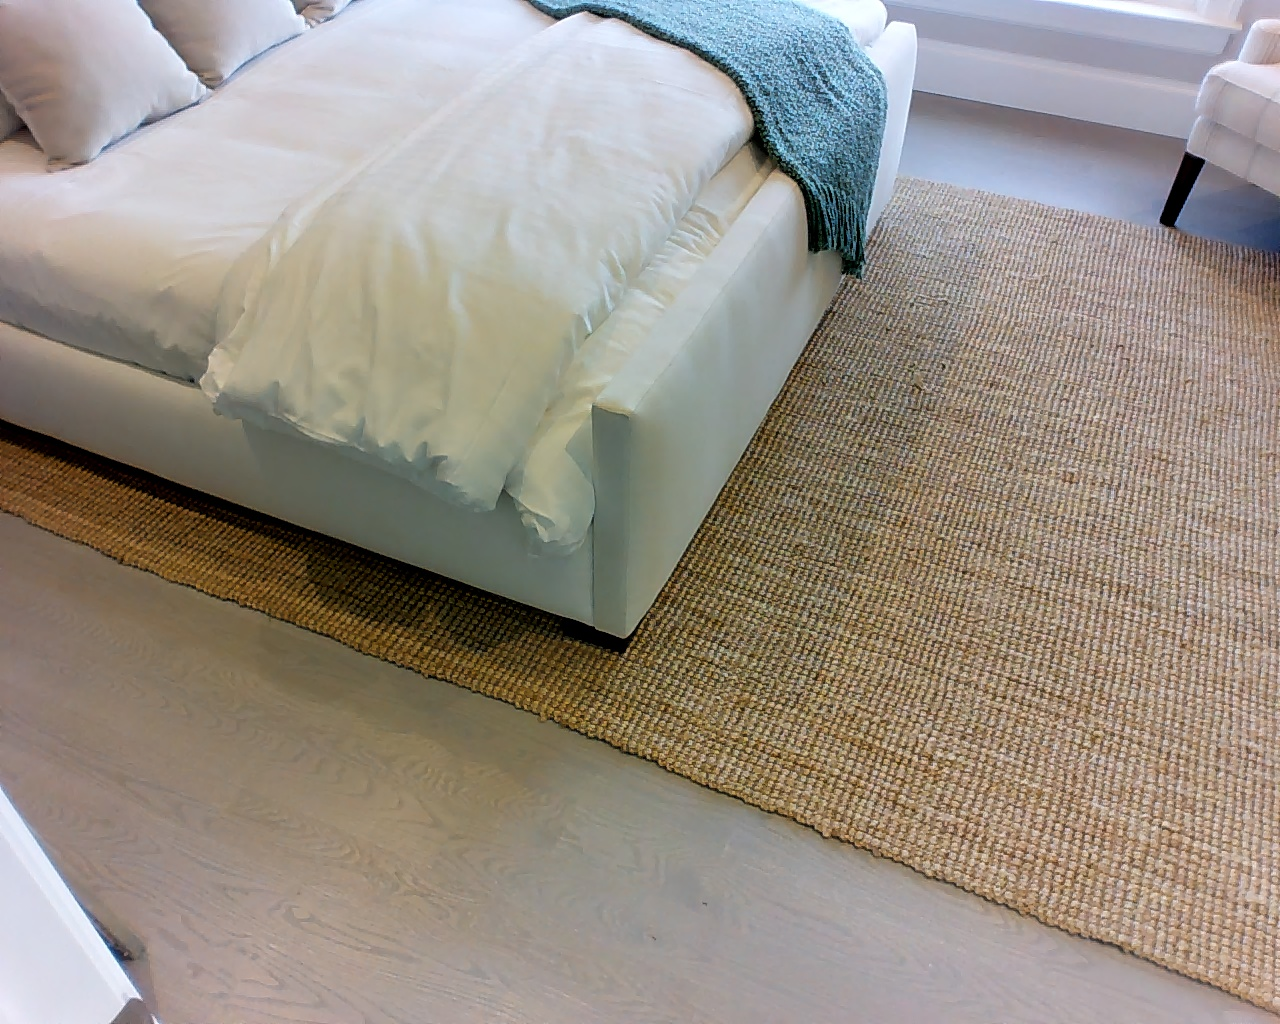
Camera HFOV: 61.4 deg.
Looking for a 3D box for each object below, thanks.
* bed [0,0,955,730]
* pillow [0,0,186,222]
[{"bbox_3d":[-0.710,-1.310,2.420,2.520,1.810,2.210,17,44,16],"label":"bed"},{"bbox_3d":[-1.320,-1.010,2.360,0.320,0.450,0.540,32,47,2],"label":"pillow"}]
